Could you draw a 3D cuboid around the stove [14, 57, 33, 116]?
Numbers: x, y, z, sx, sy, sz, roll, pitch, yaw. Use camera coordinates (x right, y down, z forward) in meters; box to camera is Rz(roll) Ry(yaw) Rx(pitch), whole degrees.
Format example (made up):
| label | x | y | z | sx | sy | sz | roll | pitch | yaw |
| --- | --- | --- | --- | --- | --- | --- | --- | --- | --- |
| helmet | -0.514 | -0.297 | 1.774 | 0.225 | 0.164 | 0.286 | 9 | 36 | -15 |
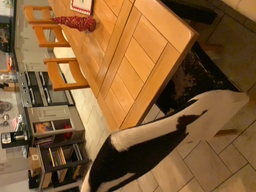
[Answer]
| label | x | y | z | sx | sy | sz | roll | pitch | yaw |
| --- | --- | --- | --- | --- | --- | --- | --- | --- | --- |
| stove | -2.070 | -0.200 | 4.160 | 1.020 | 0.150 | 0.630 | 60 | 137 | 33 |
